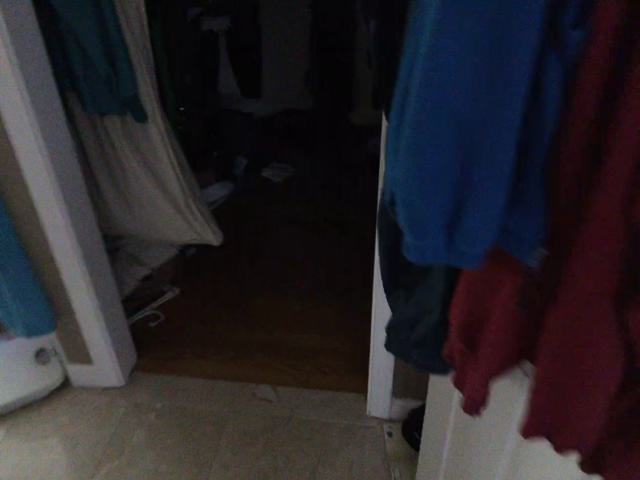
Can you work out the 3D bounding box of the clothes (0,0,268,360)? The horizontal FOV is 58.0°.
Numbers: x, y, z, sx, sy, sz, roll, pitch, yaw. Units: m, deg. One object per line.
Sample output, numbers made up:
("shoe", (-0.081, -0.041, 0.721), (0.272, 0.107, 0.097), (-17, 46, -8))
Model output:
("clothes", (-0.510, -0.640, 1.900), (0.470, 1.640, 1.200), (3, 34, 2))
